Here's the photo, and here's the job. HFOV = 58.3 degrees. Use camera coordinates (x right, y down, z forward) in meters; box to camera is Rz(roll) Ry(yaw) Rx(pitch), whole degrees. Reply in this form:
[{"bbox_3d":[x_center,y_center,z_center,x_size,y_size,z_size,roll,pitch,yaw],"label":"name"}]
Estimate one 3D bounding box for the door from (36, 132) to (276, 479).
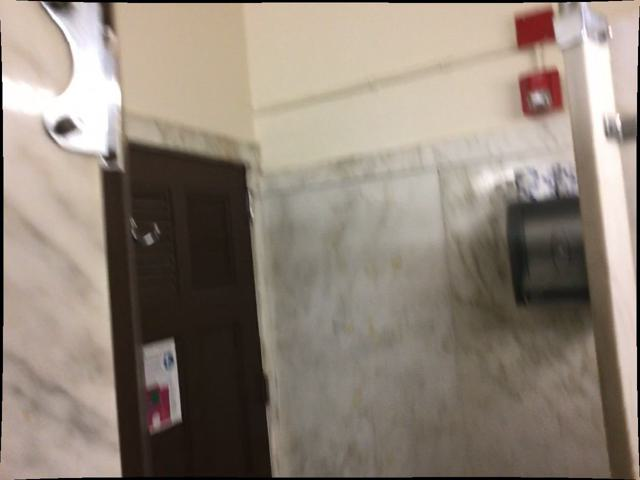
[{"bbox_3d":[-0.450,0.671,1.960,0.080,1.962,0.890,-8,-2,26],"label":"door"}]
